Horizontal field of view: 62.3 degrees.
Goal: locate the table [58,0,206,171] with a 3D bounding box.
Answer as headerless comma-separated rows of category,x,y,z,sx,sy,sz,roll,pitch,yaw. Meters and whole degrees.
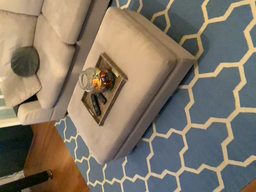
table,-0.080,-0.080,1.740,0.730,0.410,1.150,49,125,29

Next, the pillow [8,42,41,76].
pillow,-1.170,-0.410,2.390,0.260,0.230,0.270,51,126,28
